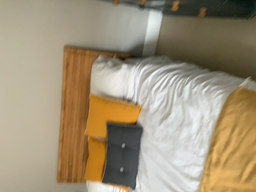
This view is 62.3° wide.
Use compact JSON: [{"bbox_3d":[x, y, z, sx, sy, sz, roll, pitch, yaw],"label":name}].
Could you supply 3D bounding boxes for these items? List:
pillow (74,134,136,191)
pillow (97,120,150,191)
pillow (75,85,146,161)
[{"bbox_3d":[-0.200,0.620,1.890,0.390,0.400,0.160,-63,5,10],"label":"pillow"},{"bbox_3d":[-0.050,0.500,1.740,0.140,0.260,0.530,-127,55,-74],"label":"pillow"},{"bbox_3d":[-0.140,0.220,1.760,0.470,0.400,0.160,-62,3,10],"label":"pillow"}]
